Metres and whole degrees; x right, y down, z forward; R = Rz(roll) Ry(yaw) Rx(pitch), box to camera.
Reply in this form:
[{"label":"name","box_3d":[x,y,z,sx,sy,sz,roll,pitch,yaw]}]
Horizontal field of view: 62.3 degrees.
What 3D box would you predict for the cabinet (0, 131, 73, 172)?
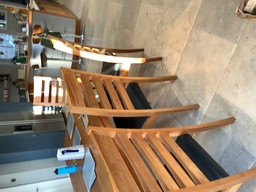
[{"label":"cabinet","box_3d":[-2.380,1.310,5.100,0.510,1.900,0.590,48,130,49]}]
